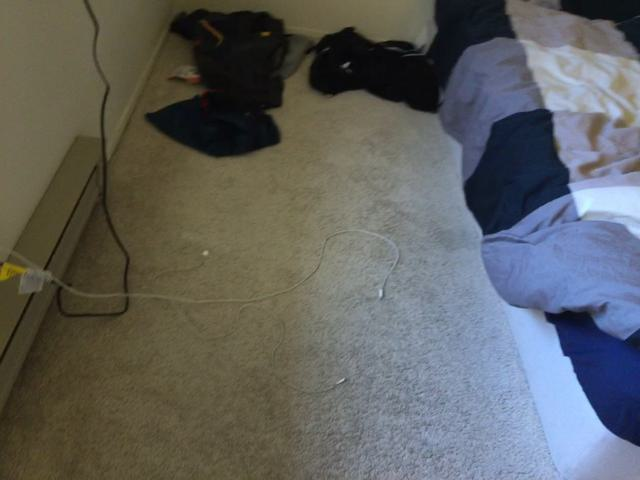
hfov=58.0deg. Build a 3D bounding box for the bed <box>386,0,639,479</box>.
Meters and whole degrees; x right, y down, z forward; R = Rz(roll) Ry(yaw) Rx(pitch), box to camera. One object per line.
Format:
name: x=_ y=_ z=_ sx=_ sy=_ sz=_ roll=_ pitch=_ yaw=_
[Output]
bed: x=1.230 y=-0.270 z=1.720 sx=1.800 sy=0.600 sz=2.170 roll=4 pitch=40 yaw=-3
